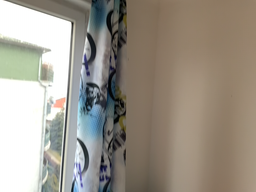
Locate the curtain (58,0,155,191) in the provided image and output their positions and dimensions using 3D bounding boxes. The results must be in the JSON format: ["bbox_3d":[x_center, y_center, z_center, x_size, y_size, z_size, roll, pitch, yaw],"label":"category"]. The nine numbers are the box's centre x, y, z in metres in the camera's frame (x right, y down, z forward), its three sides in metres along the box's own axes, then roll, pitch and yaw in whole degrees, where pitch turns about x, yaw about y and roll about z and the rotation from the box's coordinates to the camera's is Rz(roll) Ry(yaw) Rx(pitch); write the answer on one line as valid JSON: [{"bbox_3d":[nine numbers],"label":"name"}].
[{"bbox_3d":[-0.150,0.090,1.400,0.390,1.660,0.400,5,-2,-42],"label":"curtain"}]
